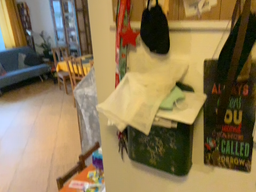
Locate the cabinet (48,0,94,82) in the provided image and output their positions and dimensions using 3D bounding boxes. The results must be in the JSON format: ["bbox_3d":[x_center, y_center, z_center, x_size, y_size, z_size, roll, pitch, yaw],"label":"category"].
[{"bbox_3d":[-1.470,-1.510,5.560,0.860,2.110,0.460,12,26,30],"label":"cabinet"}]
